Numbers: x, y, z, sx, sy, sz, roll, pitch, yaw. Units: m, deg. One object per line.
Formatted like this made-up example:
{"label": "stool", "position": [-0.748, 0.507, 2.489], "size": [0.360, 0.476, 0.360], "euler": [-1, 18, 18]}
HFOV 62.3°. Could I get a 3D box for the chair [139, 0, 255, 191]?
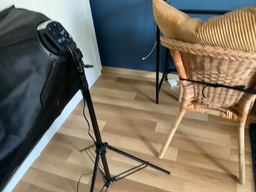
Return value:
{"label": "chair", "position": [0.490, -0.070, 1.210], "size": [0.620, 0.780, 0.720], "euler": [11, 42, 19]}
